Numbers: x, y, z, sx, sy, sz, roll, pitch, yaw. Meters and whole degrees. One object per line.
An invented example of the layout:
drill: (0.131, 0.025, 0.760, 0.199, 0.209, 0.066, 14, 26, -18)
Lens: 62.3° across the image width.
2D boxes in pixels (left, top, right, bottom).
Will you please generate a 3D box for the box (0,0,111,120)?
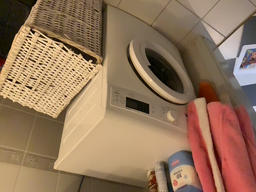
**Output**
box: (-0.370, -0.280, 1.150, 0.330, 0.580, 0.490, 25, 130, -29)

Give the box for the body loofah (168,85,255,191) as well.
body loofah: (0.410, 0.410, 0.740, 0.250, 0.910, 0.260, 26, 130, -30)
